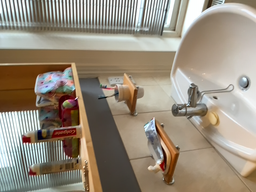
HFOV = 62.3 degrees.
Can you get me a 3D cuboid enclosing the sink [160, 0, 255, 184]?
[{"bbox_3d":[0.400,-0.090,0.840,0.630,0.200,0.470,-119,32,-53],"label":"sink"}]
